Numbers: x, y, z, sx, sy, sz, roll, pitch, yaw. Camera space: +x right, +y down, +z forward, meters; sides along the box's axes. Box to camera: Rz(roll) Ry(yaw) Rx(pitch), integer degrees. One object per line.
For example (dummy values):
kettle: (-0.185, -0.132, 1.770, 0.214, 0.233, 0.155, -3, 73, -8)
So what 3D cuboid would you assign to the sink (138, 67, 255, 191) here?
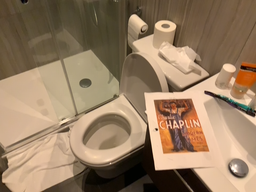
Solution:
sink: (0.390, 0.220, 0.690, 0.410, 0.150, 0.650, -26, 55, -22)

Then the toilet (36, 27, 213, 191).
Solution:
toilet: (-0.020, 0.150, 1.230, 0.650, 0.810, 0.410, -26, 55, -22)
